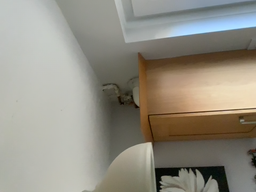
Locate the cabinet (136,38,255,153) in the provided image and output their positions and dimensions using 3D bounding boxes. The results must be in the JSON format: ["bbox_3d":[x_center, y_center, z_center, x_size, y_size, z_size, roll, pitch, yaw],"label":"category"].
[{"bbox_3d":[0.470,0.050,1.340,0.590,0.760,0.470,69,-161,-62],"label":"cabinet"}]
